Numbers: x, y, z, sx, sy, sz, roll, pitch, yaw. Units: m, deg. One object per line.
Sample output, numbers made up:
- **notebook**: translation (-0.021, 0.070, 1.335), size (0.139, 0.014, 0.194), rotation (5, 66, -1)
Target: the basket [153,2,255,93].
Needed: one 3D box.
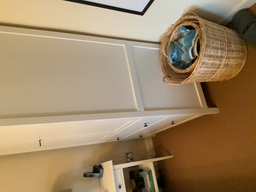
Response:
- **basket**: translation (0.530, -0.300, 1.520), size (0.450, 0.450, 0.420), rotation (-40, 56, 56)

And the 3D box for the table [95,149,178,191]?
- **table**: translation (0.080, 0.830, 2.120), size (0.350, 0.680, 0.450), rotation (-39, 57, 56)
